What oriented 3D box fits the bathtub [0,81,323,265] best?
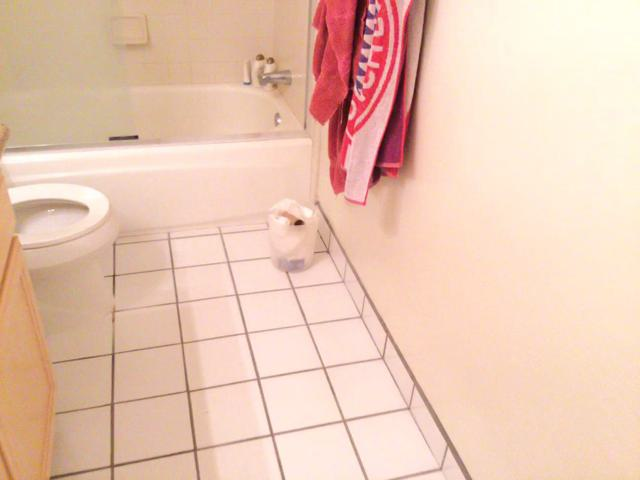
[{"bbox_3d":[-0.820,-0.340,2.550,1.510,0.390,0.780,-8,32,-13],"label":"bathtub"}]

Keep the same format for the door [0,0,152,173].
[{"bbox_3d":[-1.030,-0.700,1.900,0.790,0.940,0.170,-8,32,-13],"label":"door"}]

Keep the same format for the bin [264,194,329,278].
[{"bbox_3d":[-0.090,-0.020,2.210,0.200,0.230,0.200,-8,32,-13],"label":"bin"}]
